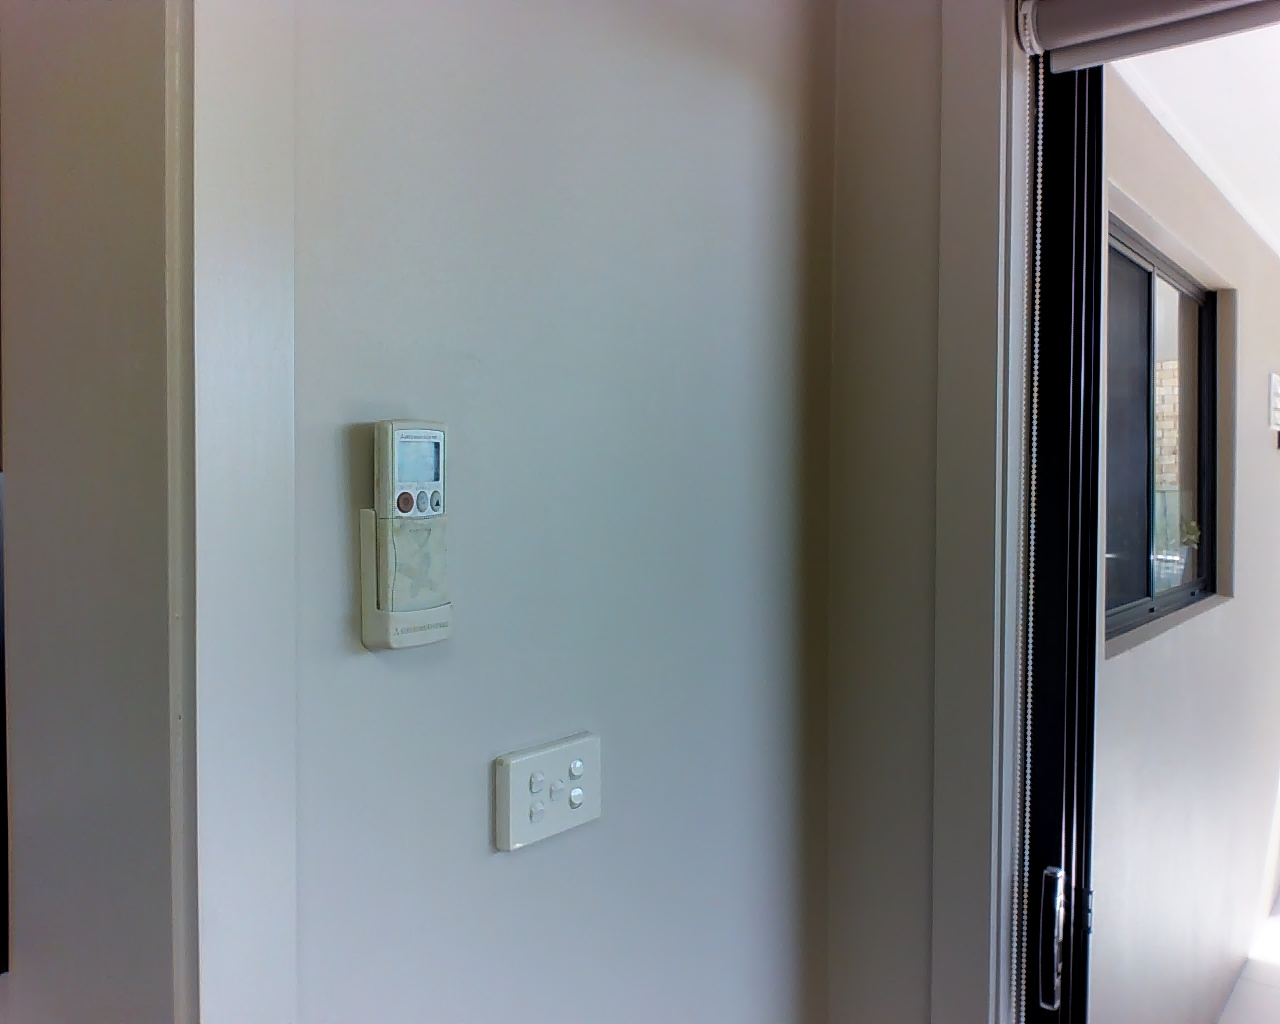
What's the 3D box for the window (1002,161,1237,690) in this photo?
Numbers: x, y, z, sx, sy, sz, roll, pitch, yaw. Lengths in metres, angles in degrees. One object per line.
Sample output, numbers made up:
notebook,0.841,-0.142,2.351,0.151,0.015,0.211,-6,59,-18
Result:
window,1.390,-0.190,2.950,0.180,1.100,1.700,1,1,38
